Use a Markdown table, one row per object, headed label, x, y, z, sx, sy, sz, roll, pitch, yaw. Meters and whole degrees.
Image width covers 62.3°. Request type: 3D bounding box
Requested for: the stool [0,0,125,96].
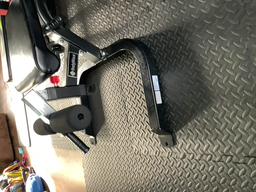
| label | x | y | z | sx | sy | sz | roll | pitch | yaw |
| --- | --- | --- | --- | --- | --- | --- | --- | --- | --- |
| stool | -0.340 | -0.500 | 0.980 | 0.250 | 0.420 | 0.940 | -17 | 82 | 50 |
